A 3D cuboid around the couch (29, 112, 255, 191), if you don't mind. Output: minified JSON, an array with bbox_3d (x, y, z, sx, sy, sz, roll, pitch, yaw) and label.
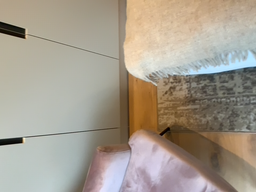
[{"bbox_3d":[0.090,0.580,1.000,0.710,0.830,0.740,32,108,36],"label":"couch"}]
